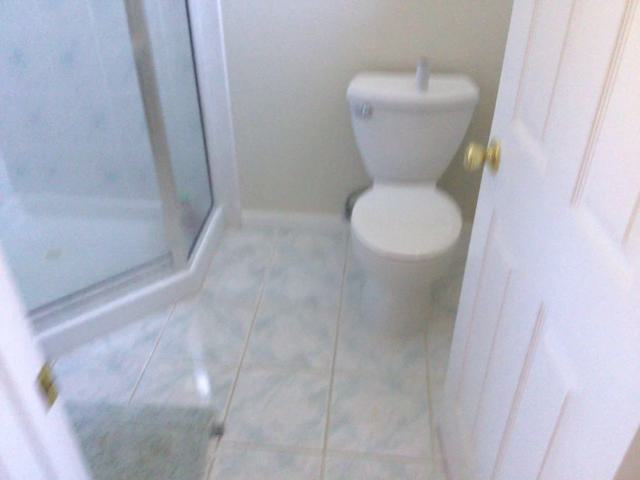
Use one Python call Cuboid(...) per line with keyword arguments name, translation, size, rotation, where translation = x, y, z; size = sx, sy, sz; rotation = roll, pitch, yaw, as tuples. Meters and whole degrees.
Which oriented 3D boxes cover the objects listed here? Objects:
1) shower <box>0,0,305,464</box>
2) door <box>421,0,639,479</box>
Cuboid(name="shower", translation=(-0.860, -0.560, 1.680), size=(1.120, 1.880, 1.140), rotation=(-19, 34, -26))
Cuboid(name="door", translation=(0.360, -0.110, 0.850), size=(0.220, 2.050, 0.800), rotation=(-1, 30, 3))
